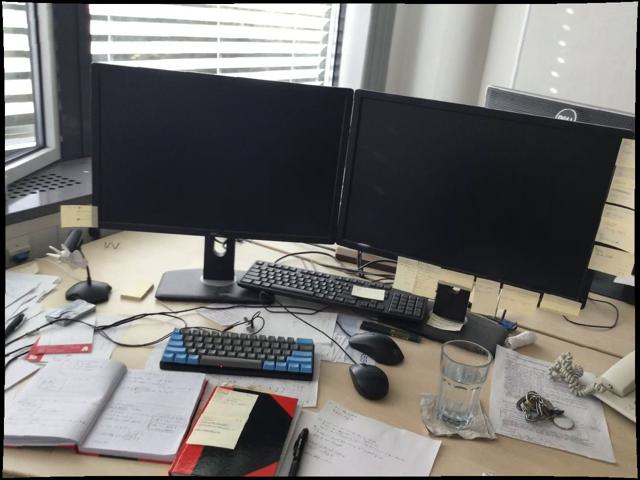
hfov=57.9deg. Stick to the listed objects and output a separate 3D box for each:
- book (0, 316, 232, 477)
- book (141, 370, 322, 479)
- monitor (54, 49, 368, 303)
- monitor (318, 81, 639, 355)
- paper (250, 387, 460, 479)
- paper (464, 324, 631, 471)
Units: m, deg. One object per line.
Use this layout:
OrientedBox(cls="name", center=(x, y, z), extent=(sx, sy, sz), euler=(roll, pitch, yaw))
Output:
OrientedBox(cls="book", center=(-0.360, 0.250, 1.010), extent=(0.320, 0.030, 0.320), euler=(9, 23, 8))
OrientedBox(cls="book", center=(-0.130, 0.310, 0.930), extent=(0.190, 0.020, 0.250), euler=(13, 23, 17))
OrientedBox(cls="monitor", center=(-0.240, -0.140, 1.340), extent=(0.619, 0.510, 0.190), euler=(4, 22, -5))
OrientedBox(cls="monitor", center=(0.330, -0.070, 1.240), extent=(0.650, 0.430, 0.120), euler=(16, 24, 23))
OrientedBox(cls="paper", center=(0.050, 0.360, 0.880), extent=(0.230, 0.030, 0.330), euler=(17, 25, 25))
OrientedBox(cls="paper", center=(0.440, 0.280, 1.100), extent=(0.250, 0.050, 0.280), euler=(17, 25, 25))
